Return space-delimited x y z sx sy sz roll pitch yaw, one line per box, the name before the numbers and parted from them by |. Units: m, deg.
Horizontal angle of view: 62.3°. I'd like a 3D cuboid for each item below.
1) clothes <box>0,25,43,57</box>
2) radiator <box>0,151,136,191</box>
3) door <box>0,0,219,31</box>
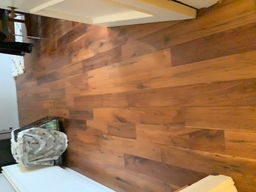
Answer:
clothes | -1.780 -0.800 3.130 0.710 0.770 0.260 -2 91 50
radiator | -0.630 0.880 1.970 2.330 0.730 0.160 -2 91 50
door | -0.660 -0.480 0.770 0.950 2.160 0.120 18 106 48
